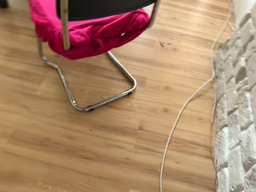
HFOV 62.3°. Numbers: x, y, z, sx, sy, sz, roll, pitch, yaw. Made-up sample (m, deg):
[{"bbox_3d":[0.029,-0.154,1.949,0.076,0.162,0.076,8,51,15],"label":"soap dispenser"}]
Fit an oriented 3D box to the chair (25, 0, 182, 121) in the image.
[{"bbox_3d":[-0.160,-0.400,1.040,0.510,0.860,0.540,-24,63,-25],"label":"chair"}]
